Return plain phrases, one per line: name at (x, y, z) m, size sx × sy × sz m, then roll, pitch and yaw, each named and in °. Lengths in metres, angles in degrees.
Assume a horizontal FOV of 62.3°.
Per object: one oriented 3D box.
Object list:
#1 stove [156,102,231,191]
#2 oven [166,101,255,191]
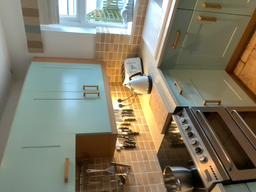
stove at (0.410, 0.480, 1.570) m, size 0.610 × 0.100 × 0.630 m, roll -106°, pitch 21°, yaw -48°
oven at (0.840, 0.480, 1.670) m, size 0.610 × 0.780 × 0.630 m, roll -106°, pitch 21°, yaw -48°
